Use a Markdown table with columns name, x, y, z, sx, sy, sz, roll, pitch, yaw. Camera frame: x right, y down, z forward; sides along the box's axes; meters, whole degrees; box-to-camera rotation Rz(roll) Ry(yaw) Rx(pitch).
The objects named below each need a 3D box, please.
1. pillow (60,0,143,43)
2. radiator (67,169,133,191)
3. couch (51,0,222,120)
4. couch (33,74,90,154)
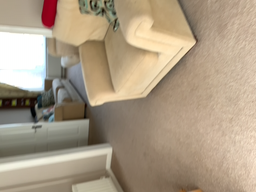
| name | x | y | z | sx | sy | sz | roll | pitch | yaw |
| --- | --- | --- | --- | --- | --- | --- | --- | --- | --- |
| pillow | -0.200 | -0.680 | 1.600 | 0.470 | 0.400 | 0.140 | -25 | 45 | 41 |
| radiator | -0.220 | 1.310 | 2.430 | 1.170 | 0.710 | 0.120 | 36 | 124 | 58 |
| couch | -0.120 | -0.490 | 1.830 | 1.190 | 0.860 | 0.940 | -51 | 48 | 53 |
| couch | -1.740 | 0.250 | 5.220 | 2.280 | 0.940 | 1.050 | 39 | 126 | 57 |
